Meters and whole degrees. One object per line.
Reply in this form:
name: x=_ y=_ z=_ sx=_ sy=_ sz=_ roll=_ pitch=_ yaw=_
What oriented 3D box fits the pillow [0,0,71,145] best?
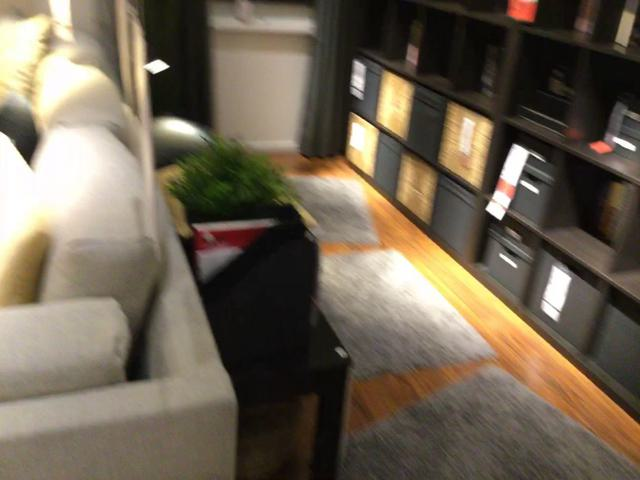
pillow: x=-1.320 y=-0.760 z=2.500 sx=0.410 sy=0.510 sz=0.630 roll=-3 pitch=28 yaw=-23

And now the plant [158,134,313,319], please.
plant: x=-0.250 y=-0.050 z=1.580 sx=0.330 sy=0.400 sz=0.290 roll=-3 pitch=28 yaw=-23

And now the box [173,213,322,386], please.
box: x=-0.180 y=0.130 z=1.340 sx=0.280 sy=0.330 sz=0.180 roll=-3 pitch=28 yaw=-23
